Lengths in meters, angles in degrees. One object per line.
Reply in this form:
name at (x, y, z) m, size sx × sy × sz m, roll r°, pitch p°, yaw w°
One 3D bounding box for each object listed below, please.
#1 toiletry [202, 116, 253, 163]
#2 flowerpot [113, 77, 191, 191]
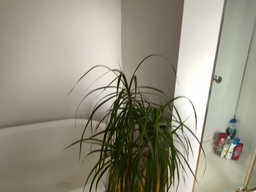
toiletry at (0.950, 0.410, 2.050) m, size 0.380 × 0.290 × 0.210 m, roll 12°, pitch 27°, yaw 24°
flowerpot at (0.070, 0.430, 1.030) m, size 0.260 × 1.010 × 0.250 m, roll -2°, pitch 24°, yaw -5°
